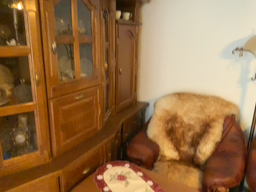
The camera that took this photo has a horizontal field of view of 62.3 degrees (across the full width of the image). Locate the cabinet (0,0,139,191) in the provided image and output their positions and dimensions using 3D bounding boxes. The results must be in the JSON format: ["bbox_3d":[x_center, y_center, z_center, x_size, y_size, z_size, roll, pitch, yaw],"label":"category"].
[{"bbox_3d":[-0.480,-0.300,1.470,0.650,1.320,1.130,10,19,28],"label":"cabinet"}]

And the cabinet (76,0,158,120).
[{"bbox_3d":[-0.090,-0.510,2.240,0.550,1.290,0.650,10,19,28],"label":"cabinet"}]
